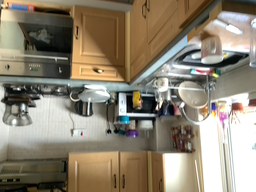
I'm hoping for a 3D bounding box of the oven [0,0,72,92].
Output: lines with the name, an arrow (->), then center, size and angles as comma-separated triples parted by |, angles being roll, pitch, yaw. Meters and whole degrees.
oven -> -0.880, -0.550, 2.090 | 0.610, 0.910, 0.590 | 1, 171, -15
